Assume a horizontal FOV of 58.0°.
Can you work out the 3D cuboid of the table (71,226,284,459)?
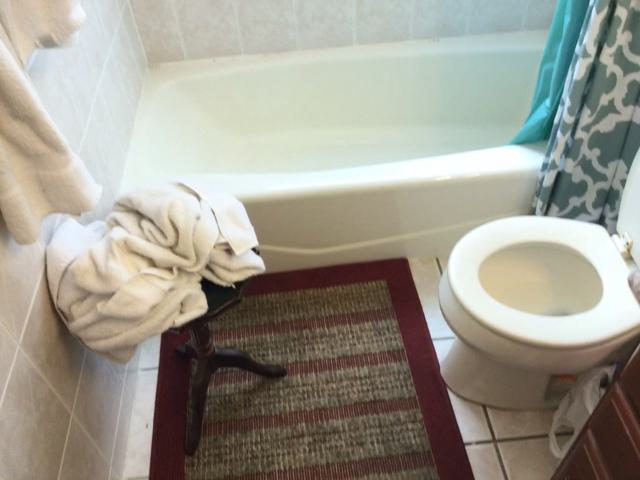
[{"bbox_3d":[-0.270,0.250,1.290,0.330,0.520,0.250,-4,48,-1],"label":"table"}]

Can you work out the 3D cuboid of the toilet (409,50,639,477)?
[{"bbox_3d":[0.600,0.080,1.230,0.680,0.770,0.500,-4,48,-1],"label":"toilet"}]

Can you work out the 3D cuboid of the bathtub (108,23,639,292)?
[{"bbox_3d":[0.160,-0.300,1.880,1.450,0.360,0.750,-5,47,-1],"label":"bathtub"}]
